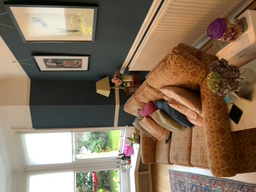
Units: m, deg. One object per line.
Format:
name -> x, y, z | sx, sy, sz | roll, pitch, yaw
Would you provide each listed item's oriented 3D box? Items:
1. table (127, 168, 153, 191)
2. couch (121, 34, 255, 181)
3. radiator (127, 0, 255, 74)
table -> 0.270, 2.130, 4.670 | 0.450, 0.460, 0.960 | 129, 139, -70
couch -> 0.550, 0.290, 2.520 | 2.060, 0.860, 1.030 | 132, 137, -71
radiator -> 0.610, -0.670, 2.580 | 1.970, 0.840, 0.100 | 131, 138, -70
